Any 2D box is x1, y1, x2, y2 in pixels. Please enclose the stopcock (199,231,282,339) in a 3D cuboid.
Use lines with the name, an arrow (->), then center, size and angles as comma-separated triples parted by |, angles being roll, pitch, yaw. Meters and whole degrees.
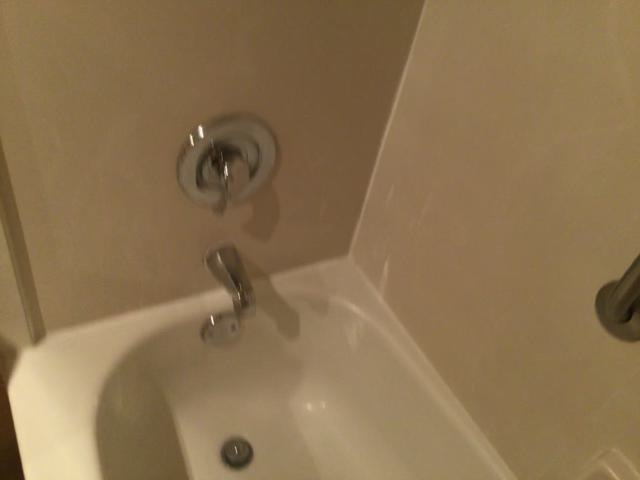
stopcock -> -0.160, 0.090, 1.140 | 0.140, 0.200, 0.060 | -16, 50, -26
